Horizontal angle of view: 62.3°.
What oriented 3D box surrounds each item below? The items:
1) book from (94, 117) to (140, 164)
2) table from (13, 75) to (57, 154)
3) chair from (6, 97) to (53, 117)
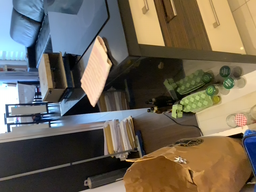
[{"bbox_3d":[-0.130,0.490,2.350,0.300,0.340,0.430,-26,71,55],"label":"book"},{"bbox_3d":[-2.520,0.490,5.630,0.960,0.790,1.840,-32,65,54],"label":"table"},{"bbox_3d":[-2.450,0.270,5.310,0.400,1.000,0.360,-28,69,55],"label":"chair"}]
